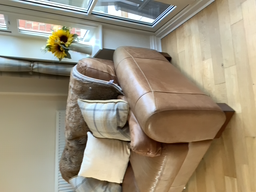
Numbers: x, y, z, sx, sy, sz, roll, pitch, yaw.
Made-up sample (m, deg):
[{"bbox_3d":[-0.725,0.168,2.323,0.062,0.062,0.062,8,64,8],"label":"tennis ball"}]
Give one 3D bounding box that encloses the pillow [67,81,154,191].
[{"bbox_3d":[-0.220,0.510,1.730,0.360,0.370,1.240,-121,40,-49],"label":"pillow"}]
